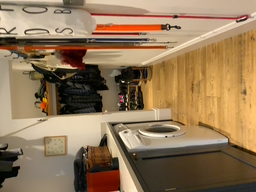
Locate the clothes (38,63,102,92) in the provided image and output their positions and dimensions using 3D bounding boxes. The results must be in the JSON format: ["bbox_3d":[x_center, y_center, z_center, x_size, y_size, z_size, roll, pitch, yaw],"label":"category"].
[{"bbox_3d":[-0.990,-0.320,3.870,1.320,0.920,0.410,-165,72,-79],"label":"clothes"}]

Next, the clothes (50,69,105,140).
[{"bbox_3d":[-1.010,0.140,4.360,0.450,0.970,1.350,-160,67,-78],"label":"clothes"}]
